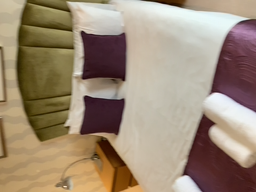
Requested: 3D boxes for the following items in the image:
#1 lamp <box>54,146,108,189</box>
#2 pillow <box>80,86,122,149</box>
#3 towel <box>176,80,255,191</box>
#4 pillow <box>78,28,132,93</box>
[{"bbox_3d":[-0.560,0.830,2.520,0.300,0.540,0.210,41,130,49],"label":"lamp"},{"bbox_3d":[-0.250,0.190,1.960,0.160,0.370,0.450,23,120,29],"label":"pillow"},{"bbox_3d":[0.440,0.150,0.960,0.430,0.120,0.280,45,132,47],"label":"towel"},{"bbox_3d":[-0.190,-0.310,1.750,0.190,0.400,0.440,24,120,32],"label":"pillow"}]
